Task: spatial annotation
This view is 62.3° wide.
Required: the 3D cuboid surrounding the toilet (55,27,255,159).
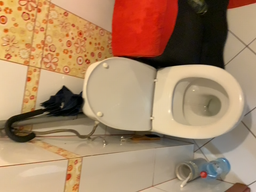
[{"bbox_3d":[0.190,0.020,1.100,0.710,0.780,0.360,4,85,39],"label":"toilet"}]
